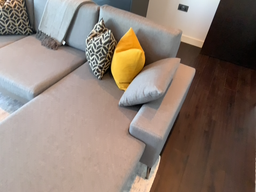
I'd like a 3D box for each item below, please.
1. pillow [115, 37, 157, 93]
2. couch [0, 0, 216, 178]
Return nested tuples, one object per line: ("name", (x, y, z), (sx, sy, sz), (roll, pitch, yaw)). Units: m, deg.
("pillow", (0.050, -0.260, 1.650), (0.200, 0.330, 0.360), (-9, 26, -17))
("couch", (-0.670, -0.420, 1.920), (2.500, 0.830, 0.910), (22, 42, 14))
